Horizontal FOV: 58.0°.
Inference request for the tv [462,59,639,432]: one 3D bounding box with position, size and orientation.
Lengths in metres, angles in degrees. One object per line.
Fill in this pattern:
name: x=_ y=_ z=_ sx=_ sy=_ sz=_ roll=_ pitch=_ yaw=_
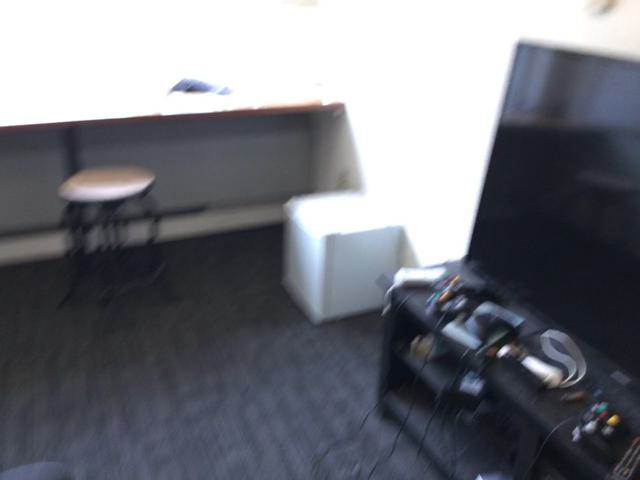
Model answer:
tv: x=0.770 y=0.030 z=1.280 sx=0.170 sy=0.780 sz=1.210 roll=-8 pitch=21 yaw=-20
